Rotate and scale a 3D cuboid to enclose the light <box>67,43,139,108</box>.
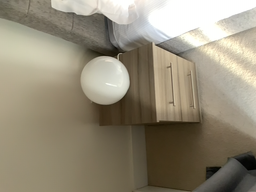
[{"bbox_3d":[-0.130,-0.080,1.080,0.270,0.240,0.250,-9,78,41],"label":"light"}]
